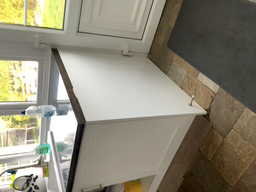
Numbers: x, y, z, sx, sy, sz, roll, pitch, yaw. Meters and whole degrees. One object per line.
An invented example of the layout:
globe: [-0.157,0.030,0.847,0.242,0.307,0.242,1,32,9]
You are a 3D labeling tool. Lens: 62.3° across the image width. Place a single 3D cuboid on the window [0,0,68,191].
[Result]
window: [-1.170,0.000,1.690,0.150,1.140,2.550,54,136,47]
